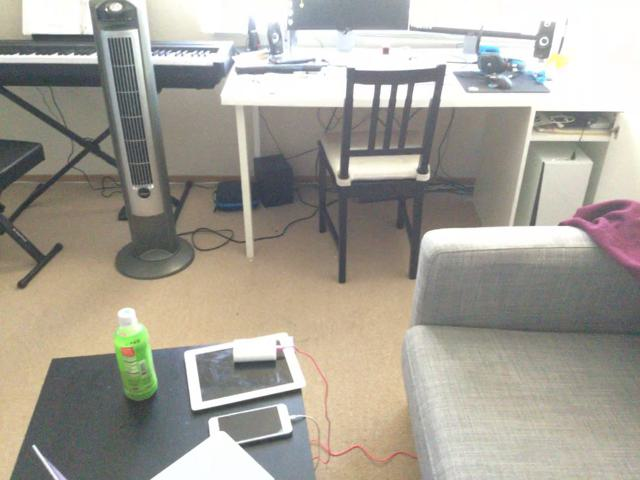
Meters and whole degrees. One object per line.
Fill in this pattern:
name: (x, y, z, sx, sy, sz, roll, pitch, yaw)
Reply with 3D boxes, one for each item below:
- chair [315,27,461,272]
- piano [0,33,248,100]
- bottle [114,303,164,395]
chair: (0.220, -0.360, 2.260, 0.460, 0.800, 0.530, 1, 31, 1)
piano: (-1.000, -0.730, 2.400, 1.350, 0.170, 0.360, 1, 31, 1)
bottle: (-0.360, 0.220, 1.160, 0.050, 0.170, 0.080, 1, 31, 1)
